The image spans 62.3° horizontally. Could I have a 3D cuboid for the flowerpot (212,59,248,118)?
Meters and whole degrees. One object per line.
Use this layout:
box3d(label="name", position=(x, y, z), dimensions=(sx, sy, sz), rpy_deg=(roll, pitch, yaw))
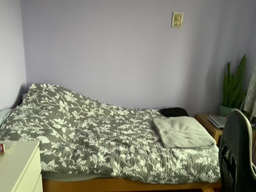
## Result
box3d(label="flowerpot", position=(1.380, -0.110, 2.880), dimensions=(0.250, 0.720, 0.320), rpy_deg=(15, 21, 33))
